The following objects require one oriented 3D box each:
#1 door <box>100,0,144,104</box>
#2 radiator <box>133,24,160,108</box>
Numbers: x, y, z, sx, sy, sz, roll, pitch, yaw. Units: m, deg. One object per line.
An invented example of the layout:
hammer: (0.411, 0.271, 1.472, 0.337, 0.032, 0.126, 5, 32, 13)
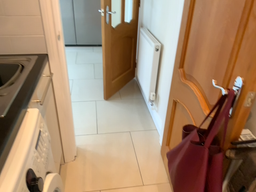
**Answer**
door: (-0.040, -0.980, 2.340, 0.100, 2.070, 0.780, 18, 33, 23)
radiator: (0.170, -0.340, 2.240, 0.100, 0.670, 0.680, -1, 30, -7)
